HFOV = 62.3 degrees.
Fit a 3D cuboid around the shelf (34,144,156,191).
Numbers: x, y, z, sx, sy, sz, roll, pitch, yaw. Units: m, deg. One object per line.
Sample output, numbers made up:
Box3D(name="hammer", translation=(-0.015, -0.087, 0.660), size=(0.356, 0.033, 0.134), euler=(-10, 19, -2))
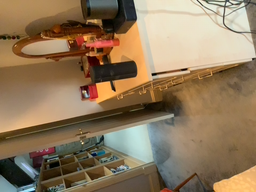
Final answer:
Box3D(name="shelf", translation=(-0.790, 1.420, 3.940), size=(2.440, 1.610, 0.380), euler=(164, 95, -69))
